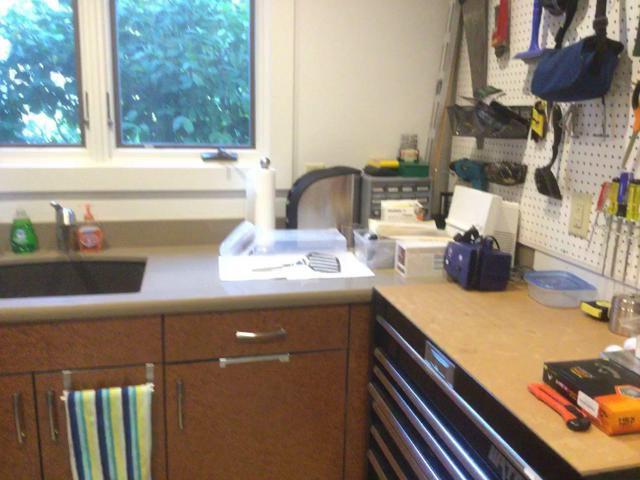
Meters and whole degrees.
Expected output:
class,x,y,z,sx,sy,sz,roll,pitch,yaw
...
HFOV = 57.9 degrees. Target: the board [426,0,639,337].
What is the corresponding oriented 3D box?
class,x,y,z,sx,sy,sz,roll,pitch,yaw
board,0.680,-0.510,1.450,0.090,1.330,1.510,-1,12,-15
